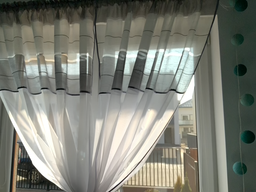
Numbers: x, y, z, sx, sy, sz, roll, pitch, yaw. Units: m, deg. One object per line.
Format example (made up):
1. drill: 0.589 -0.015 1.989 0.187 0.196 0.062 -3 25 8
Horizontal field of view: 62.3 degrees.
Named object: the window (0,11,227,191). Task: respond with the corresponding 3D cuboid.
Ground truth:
1. window: -0.180 0.220 1.310 1.410 1.370 0.190 -1 -8 10
